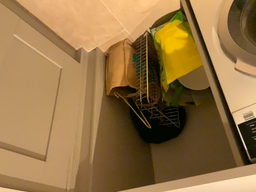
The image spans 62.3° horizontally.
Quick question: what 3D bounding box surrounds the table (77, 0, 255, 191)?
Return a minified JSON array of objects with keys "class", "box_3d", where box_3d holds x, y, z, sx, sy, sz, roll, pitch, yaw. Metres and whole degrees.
[{"class":"table","box_3d":[0.190,0.070,1.130,0.620,0.890,0.570,-23,142,25]}]
